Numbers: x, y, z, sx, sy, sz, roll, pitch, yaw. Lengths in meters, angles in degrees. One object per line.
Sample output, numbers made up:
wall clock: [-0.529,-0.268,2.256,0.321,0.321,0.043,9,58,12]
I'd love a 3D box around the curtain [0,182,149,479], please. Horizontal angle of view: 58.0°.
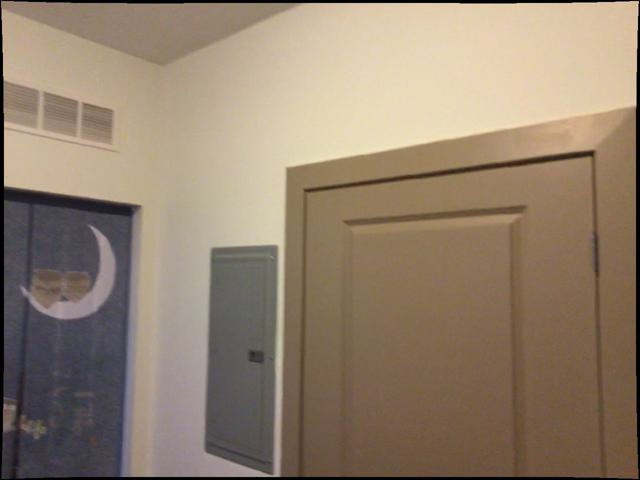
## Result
curtain: [-1.097,0.632,2.130,0.180,1.654,0.859,1,-1,43]

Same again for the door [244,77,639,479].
door: [0.269,0.762,1.510,1.278,2.175,0.150,1,-1,43]

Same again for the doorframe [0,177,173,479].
doorframe: [-1.077,0.782,2.120,0.280,1.975,0.969,1,-1,43]

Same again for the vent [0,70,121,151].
vent: [-1.067,-0.491,2.180,0.090,0.210,0.619,1,-1,43]
